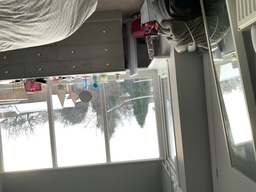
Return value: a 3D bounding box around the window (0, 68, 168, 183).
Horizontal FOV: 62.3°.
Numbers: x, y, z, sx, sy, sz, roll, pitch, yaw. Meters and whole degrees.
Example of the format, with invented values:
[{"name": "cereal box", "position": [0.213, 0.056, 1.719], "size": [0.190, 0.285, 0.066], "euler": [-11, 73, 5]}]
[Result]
[{"name": "window", "position": [-0.770, 0.420, 3.190], "size": [2.580, 1.410, 0.340], "euler": [-5, -179, -2]}]
